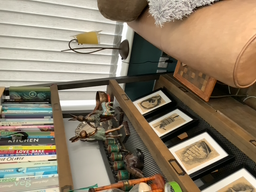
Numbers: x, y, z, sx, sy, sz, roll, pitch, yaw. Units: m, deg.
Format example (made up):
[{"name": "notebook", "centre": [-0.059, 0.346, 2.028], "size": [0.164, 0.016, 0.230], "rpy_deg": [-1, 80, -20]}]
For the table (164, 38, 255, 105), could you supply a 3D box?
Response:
[{"name": "table", "centre": [0.520, -0.170, 1.370], "size": [0.430, 0.360, 0.260], "rpy_deg": [-126, 40, -53]}]
